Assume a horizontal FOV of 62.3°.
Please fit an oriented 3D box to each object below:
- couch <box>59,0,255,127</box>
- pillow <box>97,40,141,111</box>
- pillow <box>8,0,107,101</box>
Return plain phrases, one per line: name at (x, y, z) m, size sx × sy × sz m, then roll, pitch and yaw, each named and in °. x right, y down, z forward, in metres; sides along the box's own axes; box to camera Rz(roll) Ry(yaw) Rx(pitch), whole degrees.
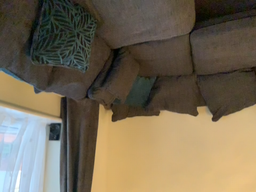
couch at (0.940, -0.300, 1.860) m, size 2.830 × 0.880 × 1.020 m, roll -6°, pitch 164°, yaw 18°
pillow at (-0.050, -0.160, 1.780) m, size 0.170 × 0.370 × 0.440 m, roll -7°, pitch 139°, yaw 18°
pillow at (-0.320, -0.290, 1.150) m, size 0.150 × 0.370 × 0.510 m, roll -8°, pitch 134°, yaw 20°
